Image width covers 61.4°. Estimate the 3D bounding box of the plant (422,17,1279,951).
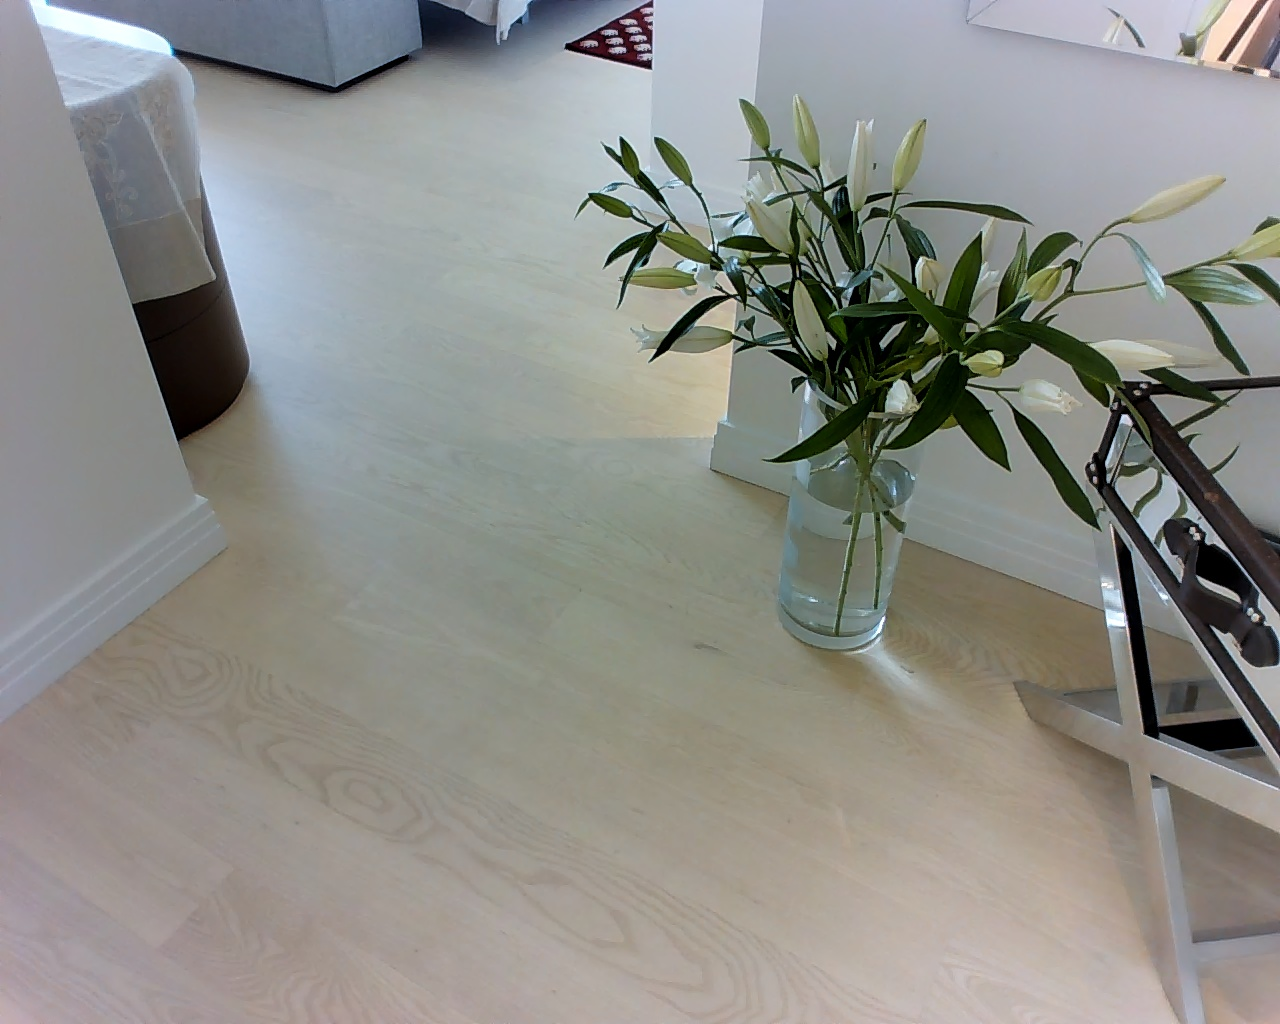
[{"bbox_3d":[0.310,-0.080,1.580,0.880,0.900,0.710,21,46,21],"label":"plant"}]
